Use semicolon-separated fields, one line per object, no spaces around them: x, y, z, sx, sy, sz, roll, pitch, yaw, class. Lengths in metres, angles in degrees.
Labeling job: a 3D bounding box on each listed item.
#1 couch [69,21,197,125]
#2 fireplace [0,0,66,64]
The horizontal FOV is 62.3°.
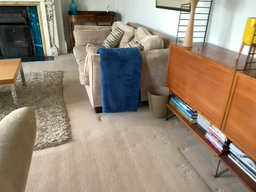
-0.180;-0.540;2.980;1.150;0.720;2.100;-5;27;-15;couch
-2.180;-1.370;3.890;1.840;1.360;0.780;-7;28;-18;fireplace
